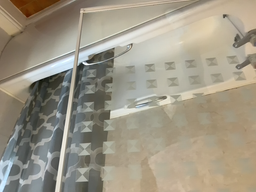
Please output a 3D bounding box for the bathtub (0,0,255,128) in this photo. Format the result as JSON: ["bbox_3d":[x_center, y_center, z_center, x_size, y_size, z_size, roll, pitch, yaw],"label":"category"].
[{"bbox_3d":[0.000,-0.320,1.380,1.480,0.570,0.670,-15,145,20],"label":"bathtub"}]
